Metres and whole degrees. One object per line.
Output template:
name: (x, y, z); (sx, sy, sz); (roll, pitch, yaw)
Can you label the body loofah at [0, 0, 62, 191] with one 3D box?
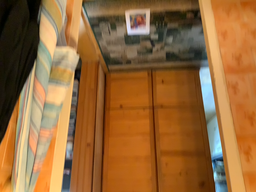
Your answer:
body loofah: (-0.350, -0.220, 0.680); (0.100, 0.990, 0.270); (-4, 158, 11)
